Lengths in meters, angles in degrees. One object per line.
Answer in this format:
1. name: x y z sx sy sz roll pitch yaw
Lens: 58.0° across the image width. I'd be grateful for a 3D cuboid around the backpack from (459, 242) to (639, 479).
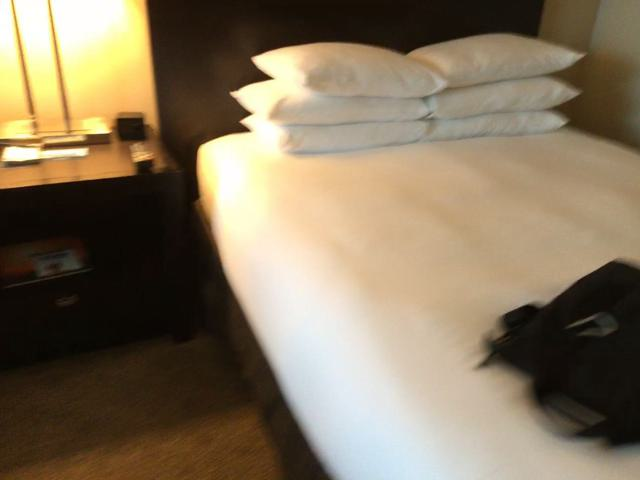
1. backpack: 0.560 0.160 0.970 0.490 0.120 0.390 -8 27 -22
